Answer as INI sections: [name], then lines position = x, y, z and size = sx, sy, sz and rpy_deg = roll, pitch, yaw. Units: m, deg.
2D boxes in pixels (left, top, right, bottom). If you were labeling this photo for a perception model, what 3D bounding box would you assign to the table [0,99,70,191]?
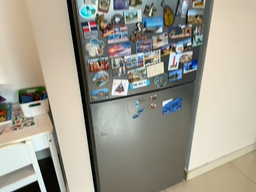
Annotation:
[table]
position = -0.770, 0.410, 1.380
size = 0.630, 0.530, 0.440
rpy_deg = -13, 30, -21
